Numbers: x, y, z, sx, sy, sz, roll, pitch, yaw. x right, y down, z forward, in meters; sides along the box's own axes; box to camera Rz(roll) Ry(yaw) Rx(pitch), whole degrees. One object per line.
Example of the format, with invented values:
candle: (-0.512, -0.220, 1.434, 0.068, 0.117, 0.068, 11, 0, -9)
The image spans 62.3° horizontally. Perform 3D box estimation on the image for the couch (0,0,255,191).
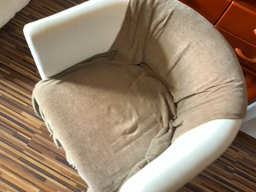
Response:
couch: (0.010, 0.040, 0.970, 0.690, 0.640, 0.640, -27, 74, -21)
